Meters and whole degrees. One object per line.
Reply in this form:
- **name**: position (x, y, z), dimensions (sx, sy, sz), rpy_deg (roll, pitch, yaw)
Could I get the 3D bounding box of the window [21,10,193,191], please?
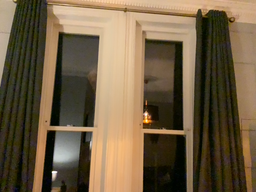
- **window**: position (-0.160, 0.350, 2.230), dimensions (1.700, 2.530, 0.070), rpy_deg (3, -10, -5)
